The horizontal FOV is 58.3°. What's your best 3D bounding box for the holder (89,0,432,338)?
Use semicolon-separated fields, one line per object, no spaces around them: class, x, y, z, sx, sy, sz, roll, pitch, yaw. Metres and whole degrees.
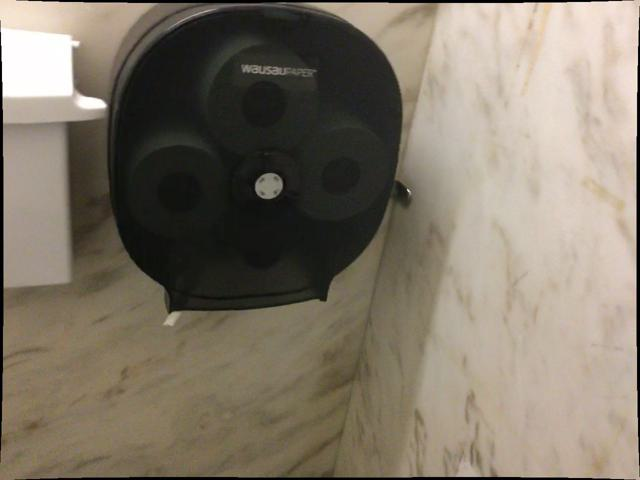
holder;-0.090;-0.100;0.720;0.350;0.390;0.150;-4;30;-22
